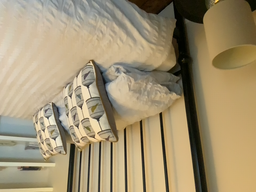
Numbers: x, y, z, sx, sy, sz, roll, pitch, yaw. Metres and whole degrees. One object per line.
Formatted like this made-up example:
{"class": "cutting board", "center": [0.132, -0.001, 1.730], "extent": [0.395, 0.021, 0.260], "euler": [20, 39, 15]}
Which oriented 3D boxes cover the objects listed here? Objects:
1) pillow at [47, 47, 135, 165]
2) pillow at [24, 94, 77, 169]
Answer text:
{"class": "pillow", "center": [-0.230, 0.060, 1.110], "extent": [0.170, 0.390, 0.450], "euler": [19, 124, -39]}
{"class": "pillow", "center": [-0.620, 0.290, 1.670], "extent": [0.230, 0.410, 0.410], "euler": [16, 133, -37]}
